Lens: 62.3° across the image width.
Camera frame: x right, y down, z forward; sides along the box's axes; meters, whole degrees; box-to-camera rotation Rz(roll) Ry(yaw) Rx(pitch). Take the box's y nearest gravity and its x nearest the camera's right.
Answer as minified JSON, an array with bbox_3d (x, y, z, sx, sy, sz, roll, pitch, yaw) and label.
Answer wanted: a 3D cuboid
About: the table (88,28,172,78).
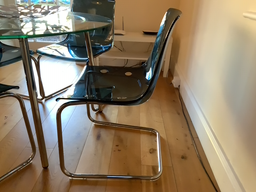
[{"bbox_3d":[0.020,-0.520,2.530,0.910,0.450,0.330,5,27,3],"label":"table"}]
